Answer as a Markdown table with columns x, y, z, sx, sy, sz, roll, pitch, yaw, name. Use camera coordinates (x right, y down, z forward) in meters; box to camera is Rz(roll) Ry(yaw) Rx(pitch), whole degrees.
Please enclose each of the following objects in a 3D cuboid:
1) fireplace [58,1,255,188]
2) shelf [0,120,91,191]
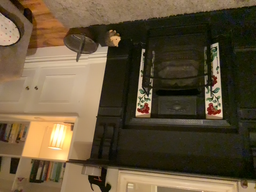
| x | y | z | sx | sy | sz | roll | pitch | yaw | name |
| --- | --- | --- | --- | --- | --- | --- | --- | --- | --- |
| 0.420 | -0.010 | 1.840 | 1.690 | 1.350 | 0.540 | 0 | 157 | 18 | fireplace |
| -1.300 | 1.260 | 2.160 | 1.530 | 2.000 | 0.280 | 0 | 158 | 17 | shelf |
